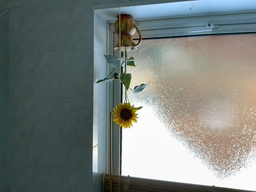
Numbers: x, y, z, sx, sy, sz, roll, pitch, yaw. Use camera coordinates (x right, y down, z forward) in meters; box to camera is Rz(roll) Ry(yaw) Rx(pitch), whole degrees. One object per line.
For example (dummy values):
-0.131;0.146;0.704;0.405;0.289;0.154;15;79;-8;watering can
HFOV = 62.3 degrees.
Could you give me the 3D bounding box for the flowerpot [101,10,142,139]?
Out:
-0.030;-0.110;1.170;0.170;0.640;0.190;1;-178;17;flowerpot
